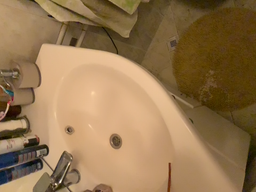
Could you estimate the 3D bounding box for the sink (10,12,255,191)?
[{"bbox_3d":[-0.060,0.120,0.730,0.810,0.160,0.510,34,109,26],"label":"sink"}]
